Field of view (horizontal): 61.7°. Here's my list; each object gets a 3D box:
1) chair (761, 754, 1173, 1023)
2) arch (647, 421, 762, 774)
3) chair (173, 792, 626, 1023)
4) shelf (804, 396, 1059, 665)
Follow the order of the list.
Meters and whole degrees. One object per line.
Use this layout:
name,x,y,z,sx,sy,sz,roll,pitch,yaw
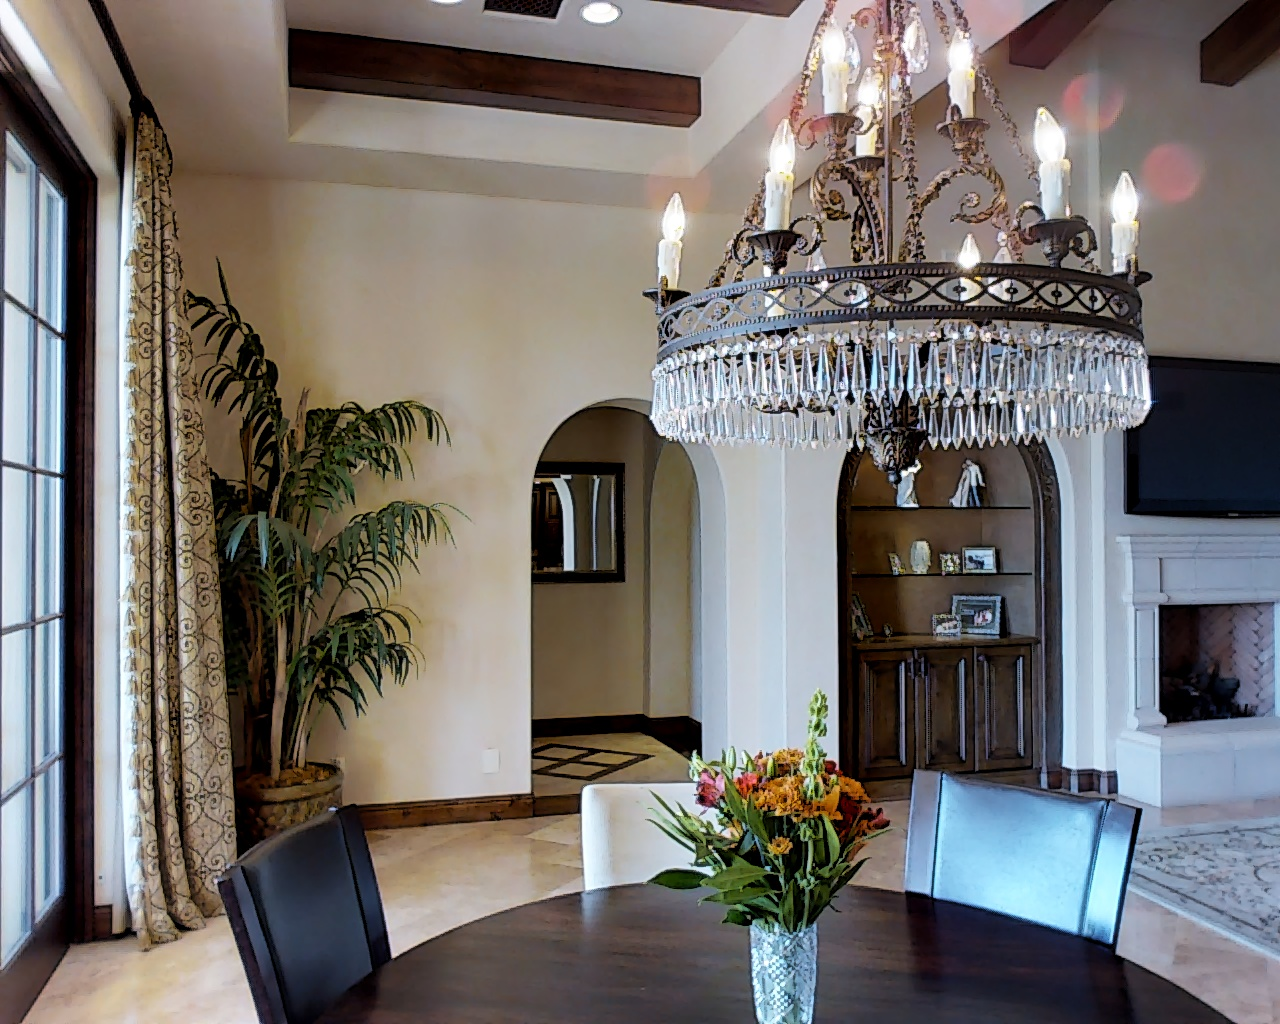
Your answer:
chair,0.670,1.090,2.180,0.630,1.020,0.560,-1,-1,40
arch,0.430,0.570,7.770,0.350,2.310,1.490,0,-1,-15
chair,-0.380,1.090,1.920,0.640,1.020,0.570,0,-1,7
shelf,1.810,0.110,6.720,1.350,1.550,0.720,0,-1,-17
